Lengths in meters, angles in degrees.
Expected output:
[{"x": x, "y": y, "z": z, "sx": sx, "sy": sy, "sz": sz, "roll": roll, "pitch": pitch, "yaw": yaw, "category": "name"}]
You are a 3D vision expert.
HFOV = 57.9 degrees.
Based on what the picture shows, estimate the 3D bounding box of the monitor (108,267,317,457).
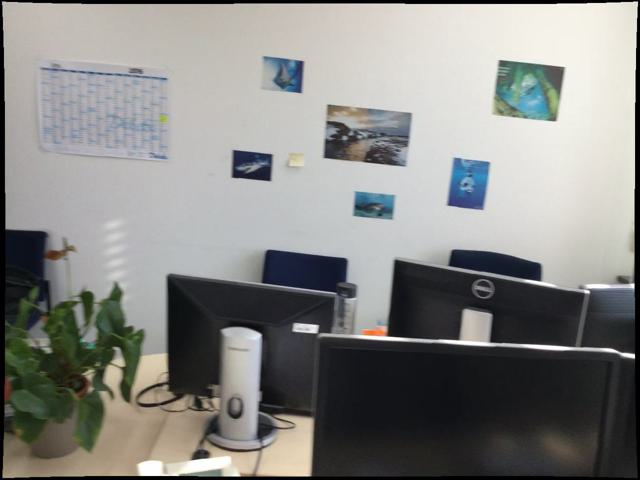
[{"x": -0.260, "y": 0.300, "z": 1.420, "sx": 0.480, "sy": 0.430, "sz": 0.090, "roll": 4, "pitch": 14, "yaw": 1, "category": "monitor"}]

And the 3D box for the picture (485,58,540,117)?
[{"x": 0.959, "y": -0.761, "z": 2.890, "sx": 0.210, "sy": 0.270, "sz": 0.090, "roll": 4, "pitch": 14, "yaw": 1, "category": "picture"}]

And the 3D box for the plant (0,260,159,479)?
[{"x": -0.689, "y": 0.320, "z": 1.410, "sx": 0.460, "sy": 0.410, "sz": 0.440, "roll": 4, "pitch": 14, "yaw": 1, "category": "plant"}]

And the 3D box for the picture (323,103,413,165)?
[{"x": 0.240, "y": -0.541, "z": 2.950, "sx": 0.430, "sy": 0.280, "sz": 0.070, "roll": 4, "pitch": 14, "yaw": 1, "category": "picture"}]
